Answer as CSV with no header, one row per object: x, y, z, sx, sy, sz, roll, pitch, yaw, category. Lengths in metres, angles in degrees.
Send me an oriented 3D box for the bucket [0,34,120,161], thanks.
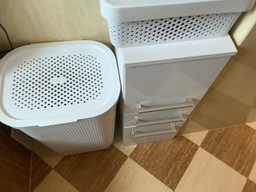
-0.270,0.060,1.020,0.420,0.610,0.310,-8,63,-6,bucket
